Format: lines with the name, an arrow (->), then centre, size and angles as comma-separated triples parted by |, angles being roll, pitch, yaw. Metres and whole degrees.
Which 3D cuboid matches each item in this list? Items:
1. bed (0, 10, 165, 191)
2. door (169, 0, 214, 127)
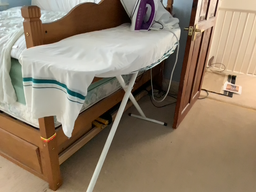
bed -> -0.930, -0.320, 2.070 | 2.070, 0.730, 1.580 | 16, 29, 24
door -> 0.580, -0.740, 1.620 | 0.030, 1.930, 0.700 | 17, 29, 25
